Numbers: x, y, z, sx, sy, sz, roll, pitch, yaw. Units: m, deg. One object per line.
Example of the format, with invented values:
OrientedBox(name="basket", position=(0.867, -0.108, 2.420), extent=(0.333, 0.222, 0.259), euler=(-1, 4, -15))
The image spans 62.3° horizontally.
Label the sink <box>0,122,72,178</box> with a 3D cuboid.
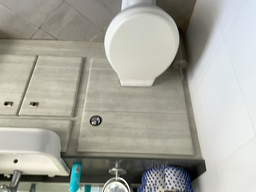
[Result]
OrientedBox(name="sink", position=(-0.630, 0.300, 1.120), extent=(0.580, 0.150, 0.430), euler=(3, 147, -4))
